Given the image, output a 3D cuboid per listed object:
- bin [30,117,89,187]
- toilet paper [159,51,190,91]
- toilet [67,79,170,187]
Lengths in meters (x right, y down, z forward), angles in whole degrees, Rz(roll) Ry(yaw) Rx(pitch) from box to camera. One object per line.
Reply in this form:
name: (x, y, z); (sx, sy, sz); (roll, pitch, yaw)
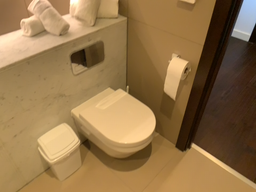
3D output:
bin: (-0.440, 0.380, 1.430); (0.160, 0.370, 0.270); (33, 50, 31)
toilet paper: (0.270, -0.150, 1.260); (0.110, 0.180, 0.110); (32, 50, 30)
toilet: (-0.070, 0.230, 1.510); (0.540, 0.360, 0.420); (32, 49, 30)
